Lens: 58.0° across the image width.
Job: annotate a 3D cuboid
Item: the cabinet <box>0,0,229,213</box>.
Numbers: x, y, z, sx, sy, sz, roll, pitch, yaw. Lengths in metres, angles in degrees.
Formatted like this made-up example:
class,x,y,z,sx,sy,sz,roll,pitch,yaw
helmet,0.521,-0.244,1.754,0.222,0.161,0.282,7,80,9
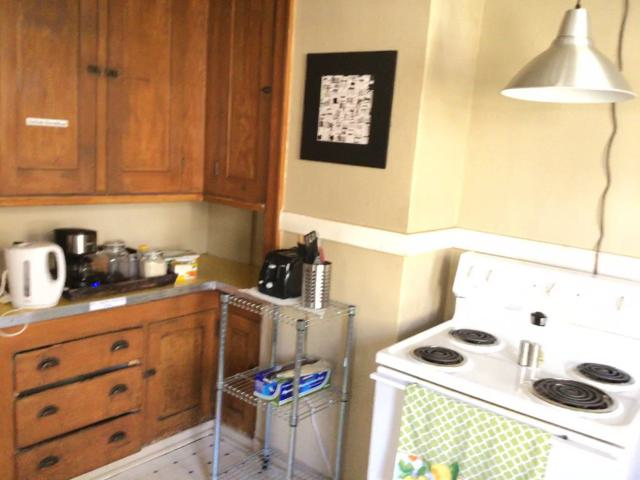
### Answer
class,x,y,z,sx,sy,sz,roll,pitch,yaw
cabinet,-0.910,-0.870,2.380,0.100,1.480,1.320,11,11,37

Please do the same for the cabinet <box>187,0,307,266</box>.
class,x,y,z,sx,sy,sz,roll,pitch,yaw
cabinet,-0.340,-0.780,2.700,0.530,1.730,0.150,12,10,37

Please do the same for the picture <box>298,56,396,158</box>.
class,x,y,z,sx,sy,sz,roll,pitch,yaw
picture,0.100,-0.540,2.350,0.420,0.380,0.050,11,11,37

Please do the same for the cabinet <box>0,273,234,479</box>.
class,x,y,z,sx,sy,sz,roll,pitch,yaw
cabinet,-0.930,0.640,2.620,0.330,0.800,1.110,11,11,37

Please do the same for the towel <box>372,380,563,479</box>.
class,x,y,z,sx,sy,sz,roll,pitch,yaw
towel,0.400,0.680,1.680,0.520,0.390,0.080,11,11,37
